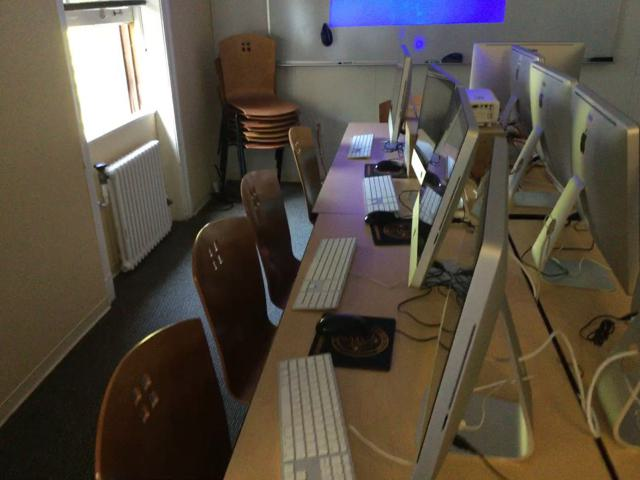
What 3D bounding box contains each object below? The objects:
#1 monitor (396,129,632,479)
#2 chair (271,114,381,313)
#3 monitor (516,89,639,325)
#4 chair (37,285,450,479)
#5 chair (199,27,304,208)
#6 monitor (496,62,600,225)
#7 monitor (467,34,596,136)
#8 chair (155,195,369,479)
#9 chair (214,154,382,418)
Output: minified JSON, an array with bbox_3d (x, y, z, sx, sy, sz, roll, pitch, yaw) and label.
[{"bbox_3d":[0.250,0.120,0.890,0.210,0.450,0.550,3,25,12],"label":"monitor"},{"bbox_3d":[0.060,-0.140,2.720,0.430,0.790,0.530,1,25,7],"label":"chair"},{"bbox_3d":[0.610,-0.100,1.370,0.160,0.430,0.420,1,25,7],"label":"monitor"},{"bbox_3d":[-0.080,0.570,1.120,0.540,0.810,0.470,3,25,6],"label":"chair"},{"bbox_3d":[-0.440,-0.830,3.860,0.470,1.060,0.470,-16,29,-31],"label":"chair"},{"bbox_3d":[0.720,-0.330,1.890,0.180,0.430,0.410,1,25,7],"label":"monitor"},{"bbox_3d":[0.970,-0.730,2.720,0.500,0.430,0.200,2,25,10],"label":"monitor"},{"bbox_3d":[-0.100,0.330,1.660,0.460,0.790,0.500,1,25,7],"label":"chair"},{"bbox_3d":[-0.030,0.140,2.060,0.480,0.770,0.520,1,25,7],"label":"chair"}]
